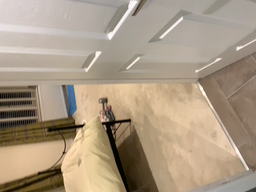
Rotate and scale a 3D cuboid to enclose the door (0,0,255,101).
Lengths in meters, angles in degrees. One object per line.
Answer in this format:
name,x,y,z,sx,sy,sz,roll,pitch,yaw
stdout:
door,-0.220,-0.200,0.900,1.040,2.090,0.140,-32,65,57
